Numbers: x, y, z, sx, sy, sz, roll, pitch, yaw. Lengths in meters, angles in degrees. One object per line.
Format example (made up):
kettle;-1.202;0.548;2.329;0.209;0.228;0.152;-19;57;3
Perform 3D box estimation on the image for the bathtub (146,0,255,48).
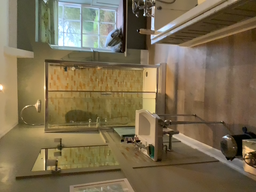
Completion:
bathtub;0.810;-1.130;2.130;1.890;0.610;0.950;-167;78;-74
